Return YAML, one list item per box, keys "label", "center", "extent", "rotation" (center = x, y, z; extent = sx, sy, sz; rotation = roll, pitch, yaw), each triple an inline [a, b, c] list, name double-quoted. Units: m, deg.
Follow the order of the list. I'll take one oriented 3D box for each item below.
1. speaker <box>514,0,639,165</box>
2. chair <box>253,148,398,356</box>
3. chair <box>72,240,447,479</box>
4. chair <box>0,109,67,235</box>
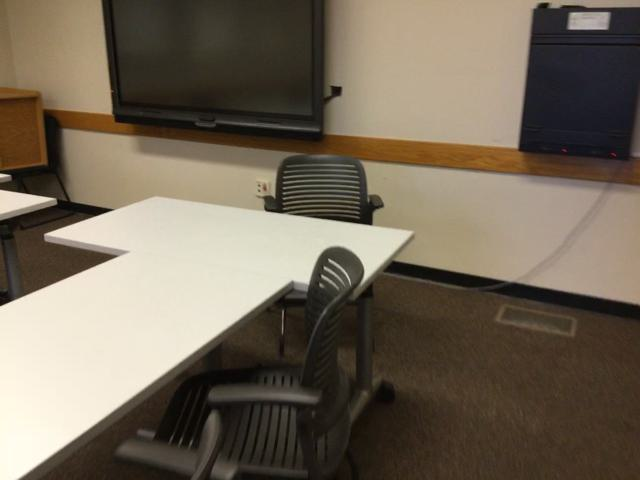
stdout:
- label: "speaker"
  center: [1.180, -0.700, 2.590]
  extent: [0.480, 0.660, 0.300]
  rotation: [9, 18, 29]
- label: "chair"
  center: [0.030, 0.030, 2.810]
  extent: [0.600, 0.860, 0.600]
  rotation: [-1, 17, 0]
- label: "chair"
  center: [-0.110, 0.480, 1.540]
  extent: [0.700, 0.740, 0.620]
  rotation: [8, 19, 27]
- label: "chair"
  center: [-2.310, -0.520, 4.160]
  extent: [0.640, 0.780, 0.510]
  rotation: [9, 20, 29]
